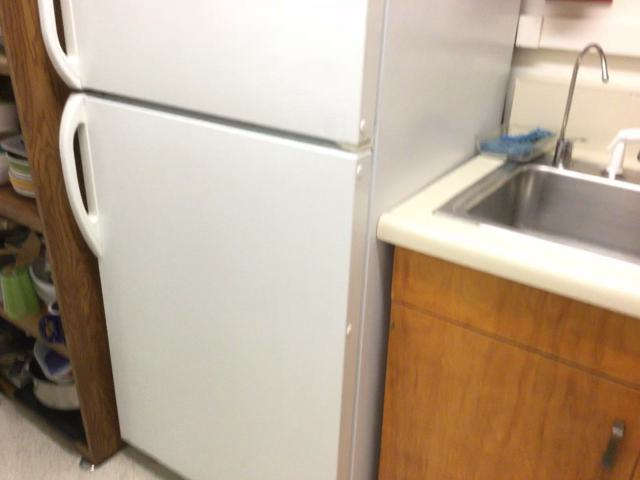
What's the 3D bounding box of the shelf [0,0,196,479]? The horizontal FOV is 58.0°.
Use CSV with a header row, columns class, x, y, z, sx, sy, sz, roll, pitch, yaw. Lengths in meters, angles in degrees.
class,x,y,z,sx,sy,sz,roll,pitch,yaw
shelf,-0.820,-0.160,1.580,0.800,1.520,0.350,17,31,32
